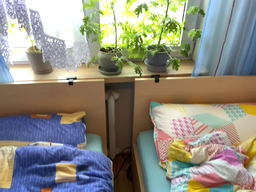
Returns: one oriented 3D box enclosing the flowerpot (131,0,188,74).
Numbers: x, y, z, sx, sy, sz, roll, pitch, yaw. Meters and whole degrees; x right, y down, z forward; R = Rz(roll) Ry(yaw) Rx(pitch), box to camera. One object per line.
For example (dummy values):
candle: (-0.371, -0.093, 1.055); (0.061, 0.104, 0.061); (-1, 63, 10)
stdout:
flowerpot: (0.180, -0.480, 1.330); (0.270, 0.630, 0.240); (-2, 31, -7)
